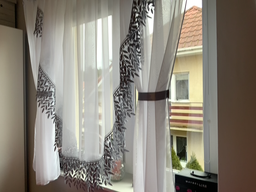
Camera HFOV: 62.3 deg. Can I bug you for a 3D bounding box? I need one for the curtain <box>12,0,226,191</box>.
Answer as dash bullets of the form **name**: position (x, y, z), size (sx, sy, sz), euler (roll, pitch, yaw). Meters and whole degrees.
- **curtain**: position (-0.230, -0.060, 1.470), size (1.610, 2.000, 0.320), euler (0, 0, 36)
